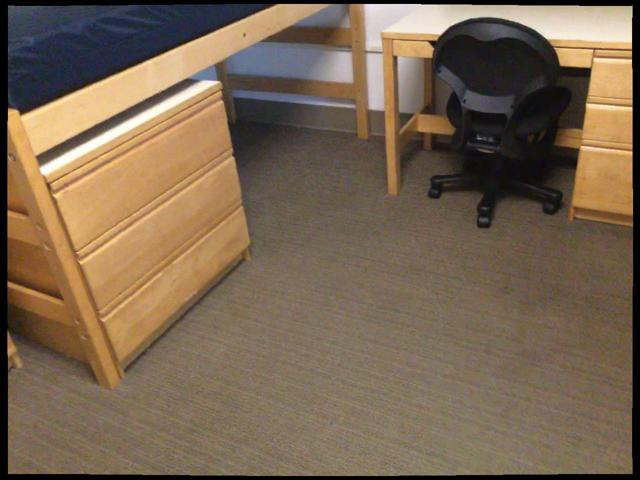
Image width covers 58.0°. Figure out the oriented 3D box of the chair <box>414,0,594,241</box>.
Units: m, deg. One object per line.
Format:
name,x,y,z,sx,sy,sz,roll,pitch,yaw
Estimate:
chair,0.759,-0.541,2.440,0.569,0.861,0.520,11,37,25
